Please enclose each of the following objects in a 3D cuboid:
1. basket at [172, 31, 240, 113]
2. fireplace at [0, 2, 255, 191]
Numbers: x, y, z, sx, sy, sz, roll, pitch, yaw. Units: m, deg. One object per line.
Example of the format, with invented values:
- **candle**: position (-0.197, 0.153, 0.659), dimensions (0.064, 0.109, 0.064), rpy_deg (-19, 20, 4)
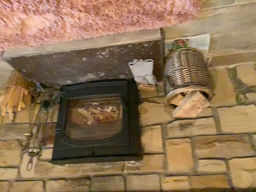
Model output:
- **basket**: position (0.450, -0.140, 1.330), dimensions (0.300, 0.380, 0.300), rpy_deg (-6, 153, 8)
- **fireplace**: position (-0.120, 0.280, 1.520), dimensions (2.510, 0.960, 1.170), rpy_deg (-5, 153, 8)
